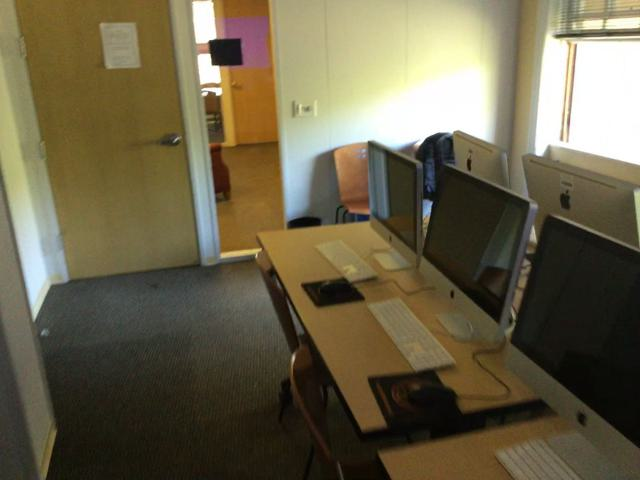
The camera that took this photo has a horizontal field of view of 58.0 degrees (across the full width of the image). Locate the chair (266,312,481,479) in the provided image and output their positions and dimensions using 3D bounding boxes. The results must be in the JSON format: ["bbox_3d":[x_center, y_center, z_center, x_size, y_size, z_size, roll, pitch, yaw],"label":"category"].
[{"bbox_3d":[0.100,0.650,1.400,0.320,0.770,0.490,-8,20,-14],"label":"chair"}]

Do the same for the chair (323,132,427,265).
[{"bbox_3d":[0.370,-0.310,4.010,0.550,0.760,0.520,-7,20,-13],"label":"chair"}]
